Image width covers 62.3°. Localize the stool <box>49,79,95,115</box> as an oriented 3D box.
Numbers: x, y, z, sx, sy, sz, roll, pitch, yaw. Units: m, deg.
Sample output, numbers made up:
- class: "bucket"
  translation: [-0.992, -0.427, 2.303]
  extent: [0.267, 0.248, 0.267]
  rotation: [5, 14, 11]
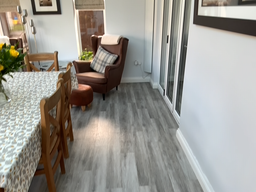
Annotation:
- class: "stool"
  translation: [-0.880, 0.000, 3.370]
  extent: [0.580, 0.390, 0.350]
  rotation: [11, 25, 24]
